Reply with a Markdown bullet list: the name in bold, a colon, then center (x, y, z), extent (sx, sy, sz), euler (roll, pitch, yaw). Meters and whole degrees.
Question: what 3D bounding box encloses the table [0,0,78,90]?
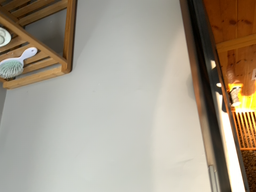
- **table**: center (-0.440, -0.460, 0.830), extent (0.340, 0.750, 0.340), euler (-12, 156, 22)
